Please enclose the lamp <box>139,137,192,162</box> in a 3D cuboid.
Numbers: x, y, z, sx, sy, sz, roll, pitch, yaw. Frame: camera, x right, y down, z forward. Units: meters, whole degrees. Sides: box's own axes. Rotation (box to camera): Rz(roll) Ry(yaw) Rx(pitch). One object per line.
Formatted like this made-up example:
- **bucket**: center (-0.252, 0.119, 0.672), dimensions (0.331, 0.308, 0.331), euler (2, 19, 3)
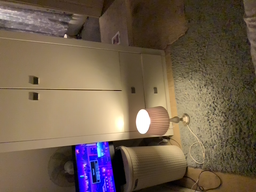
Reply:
- **lamp**: center (0.370, 0.520, 2.110), dimensions (0.300, 0.400, 0.190), euler (-22, 71, 61)
